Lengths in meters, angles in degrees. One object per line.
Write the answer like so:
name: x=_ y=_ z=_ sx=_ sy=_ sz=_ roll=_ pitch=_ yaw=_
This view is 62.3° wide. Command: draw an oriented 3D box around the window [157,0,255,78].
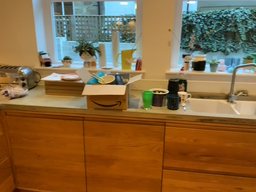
window: x=0.940 y=-0.980 z=1.990 sx=1.240 sy=1.540 sz=0.380 roll=3 pitch=18 yaw=8
